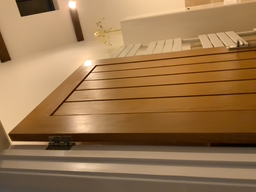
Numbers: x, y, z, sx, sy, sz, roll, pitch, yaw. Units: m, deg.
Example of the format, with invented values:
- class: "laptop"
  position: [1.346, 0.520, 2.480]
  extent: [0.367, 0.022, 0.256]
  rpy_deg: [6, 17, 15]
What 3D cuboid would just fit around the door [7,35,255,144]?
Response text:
- class: "door"
  position: [0.570, -0.120, 0.980]
  extent: [0.940, 1.930, 0.070]
  rpy_deg: [-67, -30, -59]
